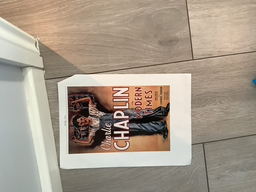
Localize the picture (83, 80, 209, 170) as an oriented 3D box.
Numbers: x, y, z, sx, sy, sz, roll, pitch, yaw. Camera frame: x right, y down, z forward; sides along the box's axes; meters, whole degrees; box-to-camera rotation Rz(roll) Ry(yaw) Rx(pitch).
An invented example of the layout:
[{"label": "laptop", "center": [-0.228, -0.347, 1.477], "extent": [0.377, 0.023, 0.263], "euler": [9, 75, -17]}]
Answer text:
[{"label": "picture", "center": [0.040, 0.060, 0.470], "extent": [0.270, 0.030, 0.190], "euler": [-1, 93, -3]}]
